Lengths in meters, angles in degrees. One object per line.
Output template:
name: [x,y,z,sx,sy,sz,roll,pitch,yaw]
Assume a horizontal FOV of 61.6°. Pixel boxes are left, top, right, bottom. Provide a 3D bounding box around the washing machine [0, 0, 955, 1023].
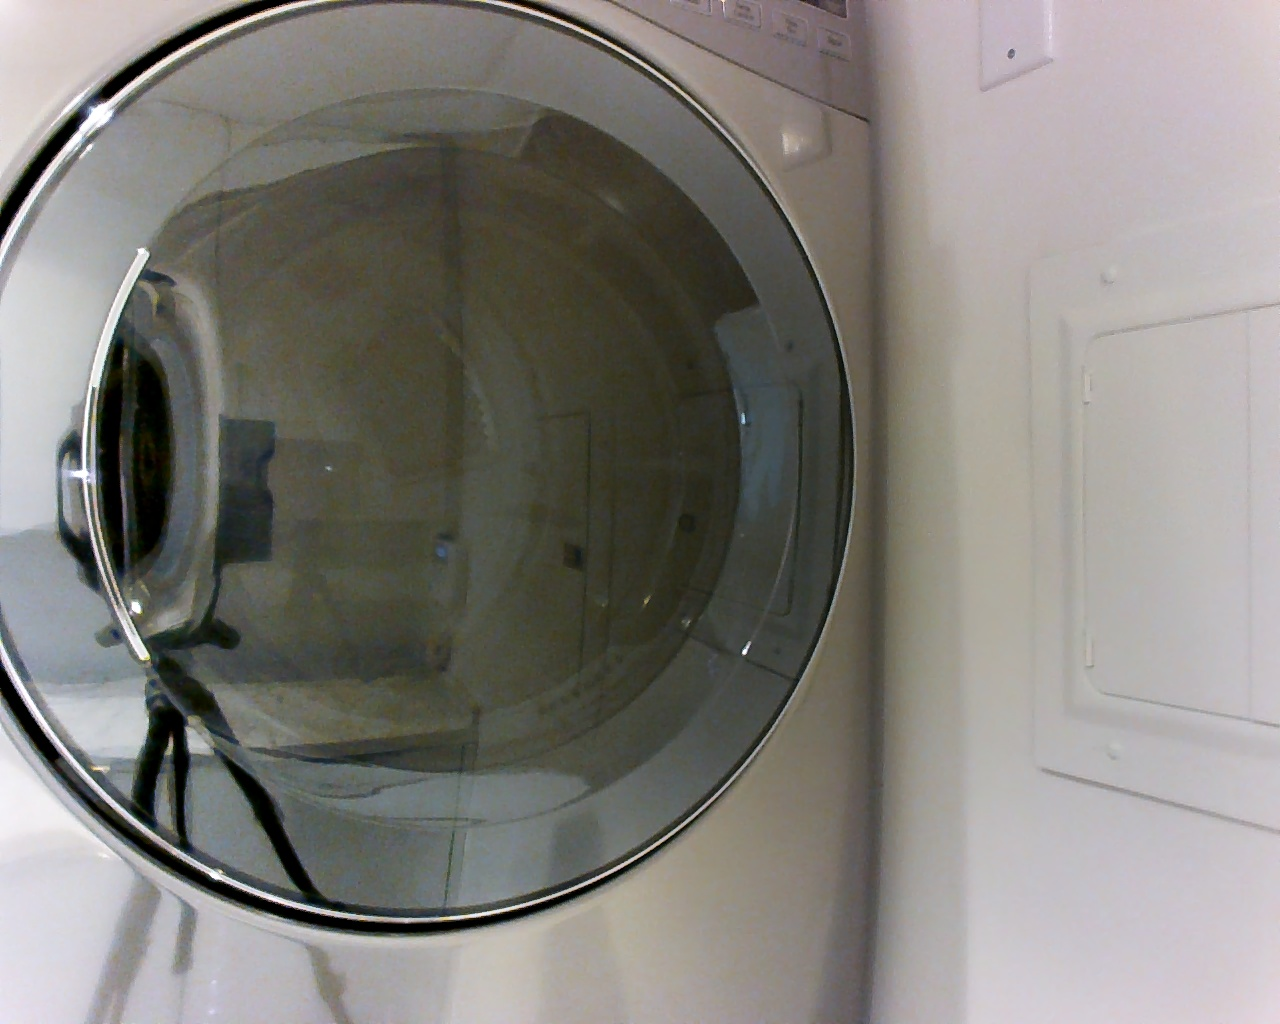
washing machine: [-0.190,-0.040,0.870,0.750,1.180,0.450,0,1,-27]
